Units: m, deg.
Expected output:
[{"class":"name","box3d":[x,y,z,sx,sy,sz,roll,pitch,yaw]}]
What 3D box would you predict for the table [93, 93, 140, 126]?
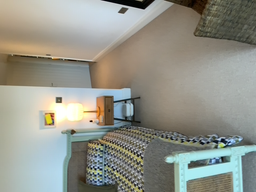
[{"class":"table","box3d":[-0.180,0.200,3.210,0.390,0.600,0.450,-10,80,63]}]
